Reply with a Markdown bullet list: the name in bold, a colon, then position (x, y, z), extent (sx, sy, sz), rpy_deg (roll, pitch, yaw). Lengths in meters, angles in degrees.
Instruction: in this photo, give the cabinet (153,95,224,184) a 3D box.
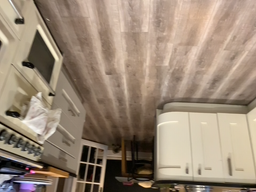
- **cabinet**: position (0.630, 0.480, 2.410), extent (0.660, 0.910, 0.350), rpy_deg (1, 155, 4)
